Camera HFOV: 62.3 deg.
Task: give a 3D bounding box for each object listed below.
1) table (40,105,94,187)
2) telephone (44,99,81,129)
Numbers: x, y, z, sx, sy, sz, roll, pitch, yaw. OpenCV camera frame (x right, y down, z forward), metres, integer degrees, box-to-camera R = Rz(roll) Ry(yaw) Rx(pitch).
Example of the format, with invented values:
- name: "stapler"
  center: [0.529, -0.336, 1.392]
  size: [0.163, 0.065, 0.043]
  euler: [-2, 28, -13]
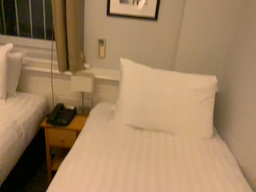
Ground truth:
- name: "table"
  center: [-0.490, 0.410, 1.780]
  size: [0.320, 0.540, 0.340]
  euler: [7, 23, 1]
- name: "telephone"
  center: [-0.500, 0.130, 1.650]
  size: [0.180, 0.100, 0.260]
  euler: [8, 23, 5]
